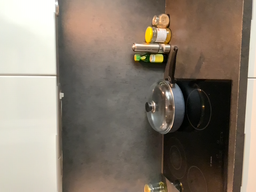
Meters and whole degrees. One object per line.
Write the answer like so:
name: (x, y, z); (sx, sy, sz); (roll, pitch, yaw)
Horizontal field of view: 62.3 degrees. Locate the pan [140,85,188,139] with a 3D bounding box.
pan: (0.180, 0.070, 1.130); (0.260, 0.140, 0.240); (-161, 71, -72)
